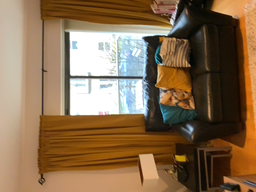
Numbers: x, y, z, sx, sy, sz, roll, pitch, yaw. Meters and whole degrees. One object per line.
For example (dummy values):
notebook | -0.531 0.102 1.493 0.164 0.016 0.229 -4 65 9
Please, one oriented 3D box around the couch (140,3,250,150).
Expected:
couch | 0.730 -0.180 2.680 0.990 0.900 1.480 157 111 -78

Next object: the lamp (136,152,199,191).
lamp | 0.480 0.920 2.650 0.350 0.680 0.340 155 114 -78

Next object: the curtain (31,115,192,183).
curtain | -0.170 0.650 2.820 0.300 2.010 0.720 144 125 -76
